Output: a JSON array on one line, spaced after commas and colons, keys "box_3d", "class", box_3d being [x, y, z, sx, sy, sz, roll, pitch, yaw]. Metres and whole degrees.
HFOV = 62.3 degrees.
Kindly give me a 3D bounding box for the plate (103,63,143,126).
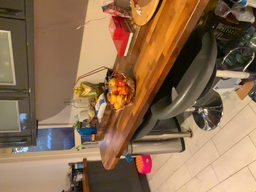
[{"box_3d": [-0.050, -0.010, 1.430, 0.280, 0.140, 0.310, 112, 150, -41], "class": "plate"}]
